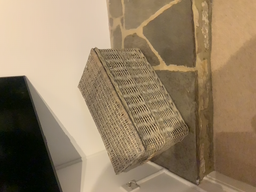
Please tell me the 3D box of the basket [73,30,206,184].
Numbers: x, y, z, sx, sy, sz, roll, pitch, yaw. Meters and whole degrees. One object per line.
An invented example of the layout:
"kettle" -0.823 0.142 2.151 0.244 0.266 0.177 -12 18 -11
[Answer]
"basket" 0.000 0.040 1.310 0.760 0.350 0.470 62 142 23
